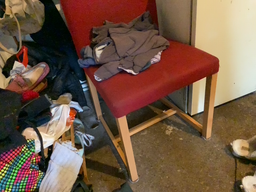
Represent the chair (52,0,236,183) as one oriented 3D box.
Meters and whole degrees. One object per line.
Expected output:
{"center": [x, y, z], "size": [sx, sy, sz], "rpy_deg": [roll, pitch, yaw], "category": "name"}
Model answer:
{"center": [0.050, -0.190, 1.010], "size": [0.510, 0.910, 0.580], "rpy_deg": [-24, 39, -17], "category": "chair"}
